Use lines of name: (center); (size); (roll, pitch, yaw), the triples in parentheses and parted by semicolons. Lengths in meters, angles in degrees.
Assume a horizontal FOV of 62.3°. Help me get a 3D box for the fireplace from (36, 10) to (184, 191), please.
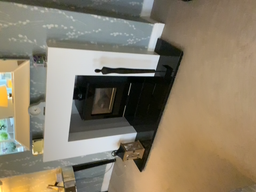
fireplace: (-0.320, 0.050, 2.100); (0.840, 0.990, 1.410); (49, 133, 49)
